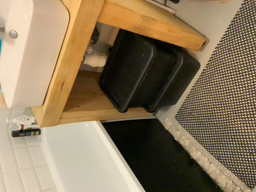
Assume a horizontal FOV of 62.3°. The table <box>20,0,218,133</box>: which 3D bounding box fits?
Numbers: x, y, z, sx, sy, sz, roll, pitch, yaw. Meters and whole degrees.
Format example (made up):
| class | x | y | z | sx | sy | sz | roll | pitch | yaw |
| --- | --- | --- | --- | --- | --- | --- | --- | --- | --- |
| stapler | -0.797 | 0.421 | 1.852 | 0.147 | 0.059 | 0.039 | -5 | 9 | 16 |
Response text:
| class | x | y | z | sx | sy | sz | roll | pitch | yaw |
| --- | --- | --- | --- | --- | --- | --- | --- | --- | --- |
| table | -0.040 | -0.200 | 1.180 | 0.380 | 0.840 | 0.650 | 52 | 125 | 34 |
